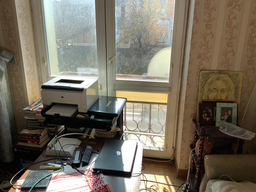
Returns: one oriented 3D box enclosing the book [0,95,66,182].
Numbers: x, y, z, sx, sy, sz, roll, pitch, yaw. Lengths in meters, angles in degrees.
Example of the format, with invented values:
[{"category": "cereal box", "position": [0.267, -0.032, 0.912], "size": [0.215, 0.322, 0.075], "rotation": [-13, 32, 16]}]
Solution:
[{"category": "book", "position": [-0.900, 0.380, 2.140], "size": [0.260, 0.590, 0.670], "rotation": [3, 19, 5]}]
